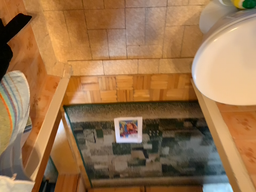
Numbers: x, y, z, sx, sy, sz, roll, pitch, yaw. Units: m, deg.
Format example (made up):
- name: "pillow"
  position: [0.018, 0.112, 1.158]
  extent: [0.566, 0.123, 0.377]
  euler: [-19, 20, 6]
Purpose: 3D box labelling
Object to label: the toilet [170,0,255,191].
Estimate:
- name: "toilet"
  position: [0.570, -0.110, 0.780]
  extent: [0.660, 0.770, 0.370]
  euler: [-1, 131, 0]
